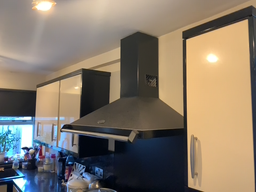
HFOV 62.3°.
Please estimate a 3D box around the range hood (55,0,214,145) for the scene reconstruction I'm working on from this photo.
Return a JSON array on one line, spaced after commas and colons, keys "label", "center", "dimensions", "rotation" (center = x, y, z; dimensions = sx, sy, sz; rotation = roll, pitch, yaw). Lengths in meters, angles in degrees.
[{"label": "range hood", "center": [-0.030, -0.090, 1.570], "dimensions": [0.580, 0.730, 1.070], "rotation": [5, -7, -41]}]
